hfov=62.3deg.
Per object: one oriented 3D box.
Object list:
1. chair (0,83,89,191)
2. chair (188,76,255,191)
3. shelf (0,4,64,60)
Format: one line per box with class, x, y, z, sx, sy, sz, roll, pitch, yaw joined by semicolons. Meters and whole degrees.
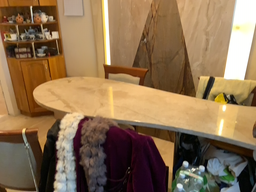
chair;-0.580;0.480;1.410;0.420;0.990;0.570;1;24;5
chair;0.690;0.410;1.560;0.390;0.960;0.550;6;25;16
shelf;-1.290;-0.880;2.840;0.530;0.630;0.550;12;27;27
